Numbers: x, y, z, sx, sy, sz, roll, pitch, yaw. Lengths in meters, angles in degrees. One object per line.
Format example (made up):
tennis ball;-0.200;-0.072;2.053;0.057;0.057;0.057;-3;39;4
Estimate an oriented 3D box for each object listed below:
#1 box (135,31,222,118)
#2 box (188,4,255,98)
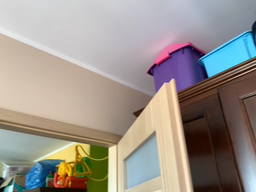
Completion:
box;0.330;-0.120;1.500;0.320;0.370;0.450;22;-36;-37
box;0.600;-0.250;1.270;0.240;0.380;0.330;21;-36;-37
